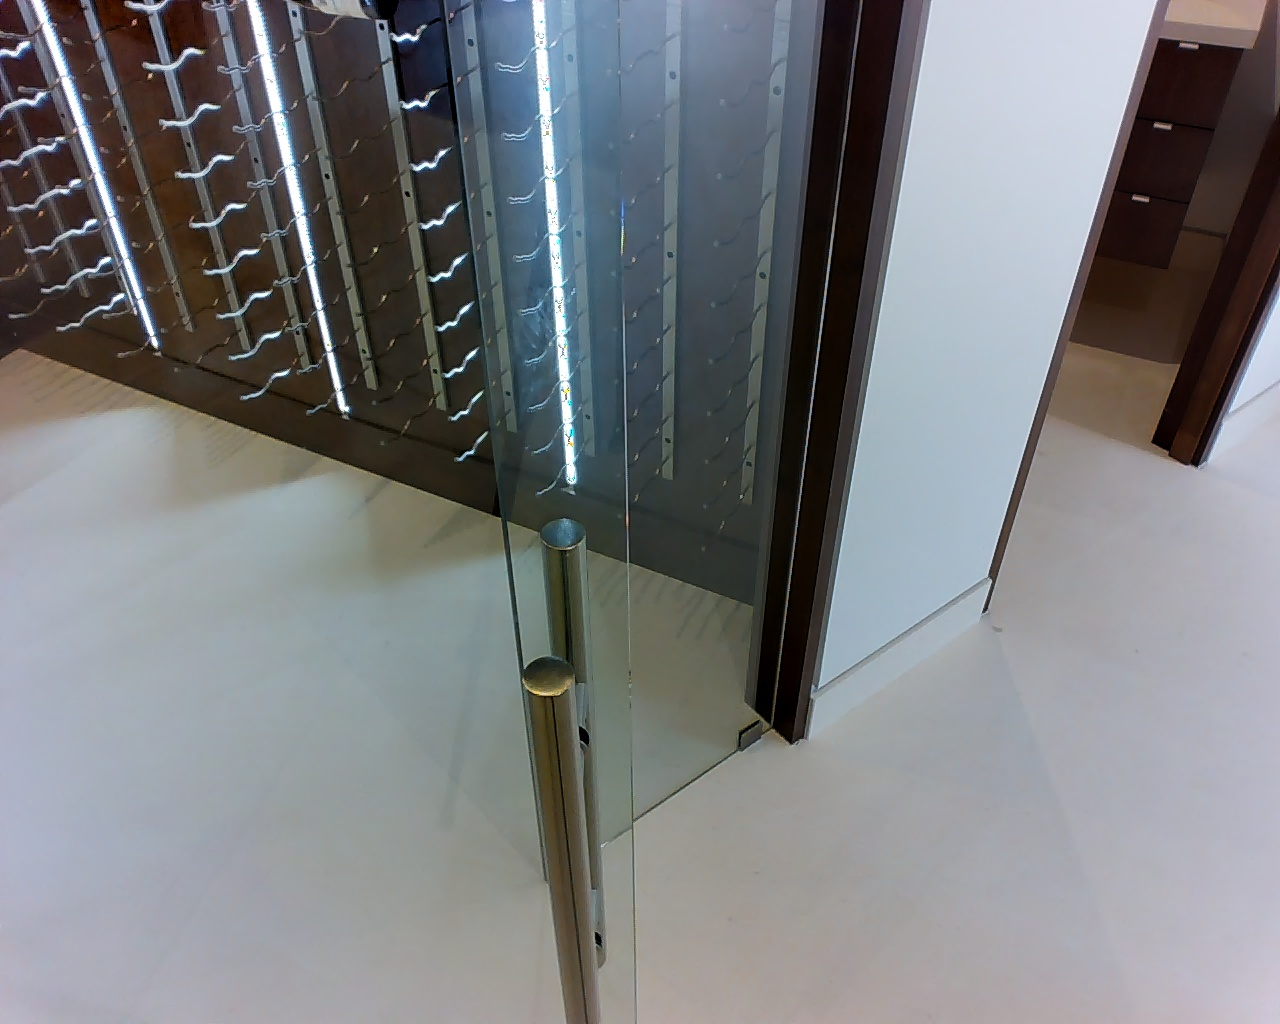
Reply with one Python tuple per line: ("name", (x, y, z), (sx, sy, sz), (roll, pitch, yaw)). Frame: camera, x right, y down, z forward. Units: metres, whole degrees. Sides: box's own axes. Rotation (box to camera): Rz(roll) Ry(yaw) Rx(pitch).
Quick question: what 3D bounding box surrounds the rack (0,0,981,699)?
("rack", (-0.790, -1.060, 1.830), (2.720, 2.570, 0.180), (19, 45, 21))
